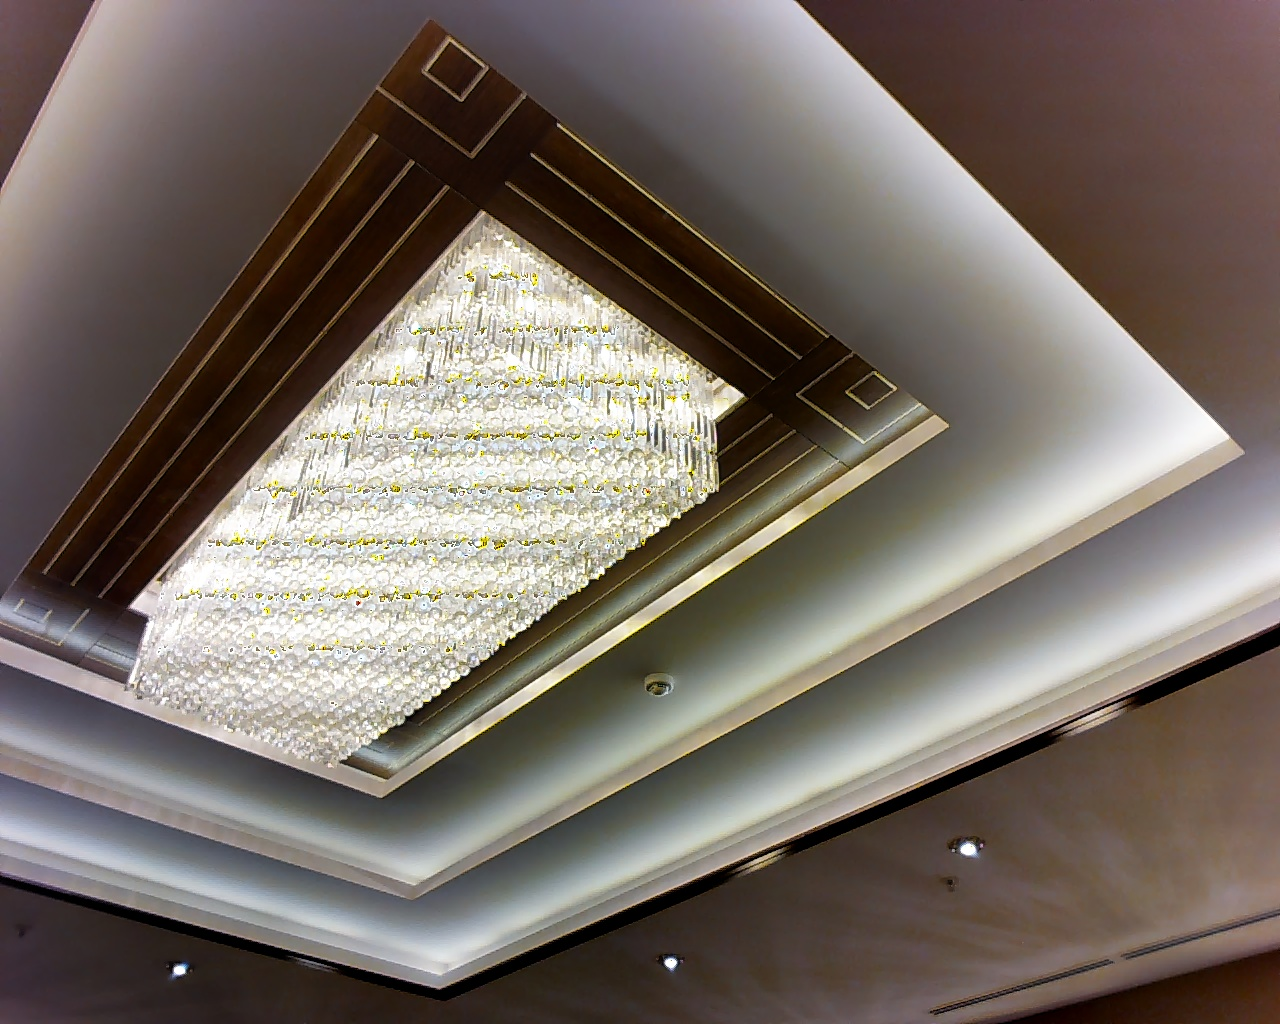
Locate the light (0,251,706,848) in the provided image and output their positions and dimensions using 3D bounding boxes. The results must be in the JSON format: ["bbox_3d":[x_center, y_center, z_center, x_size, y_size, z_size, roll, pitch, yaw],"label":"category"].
[{"bbox_3d":[-0.680,0.190,3.080,2.119,0.910,0.250,30,-50,-30],"label":"light"}]
